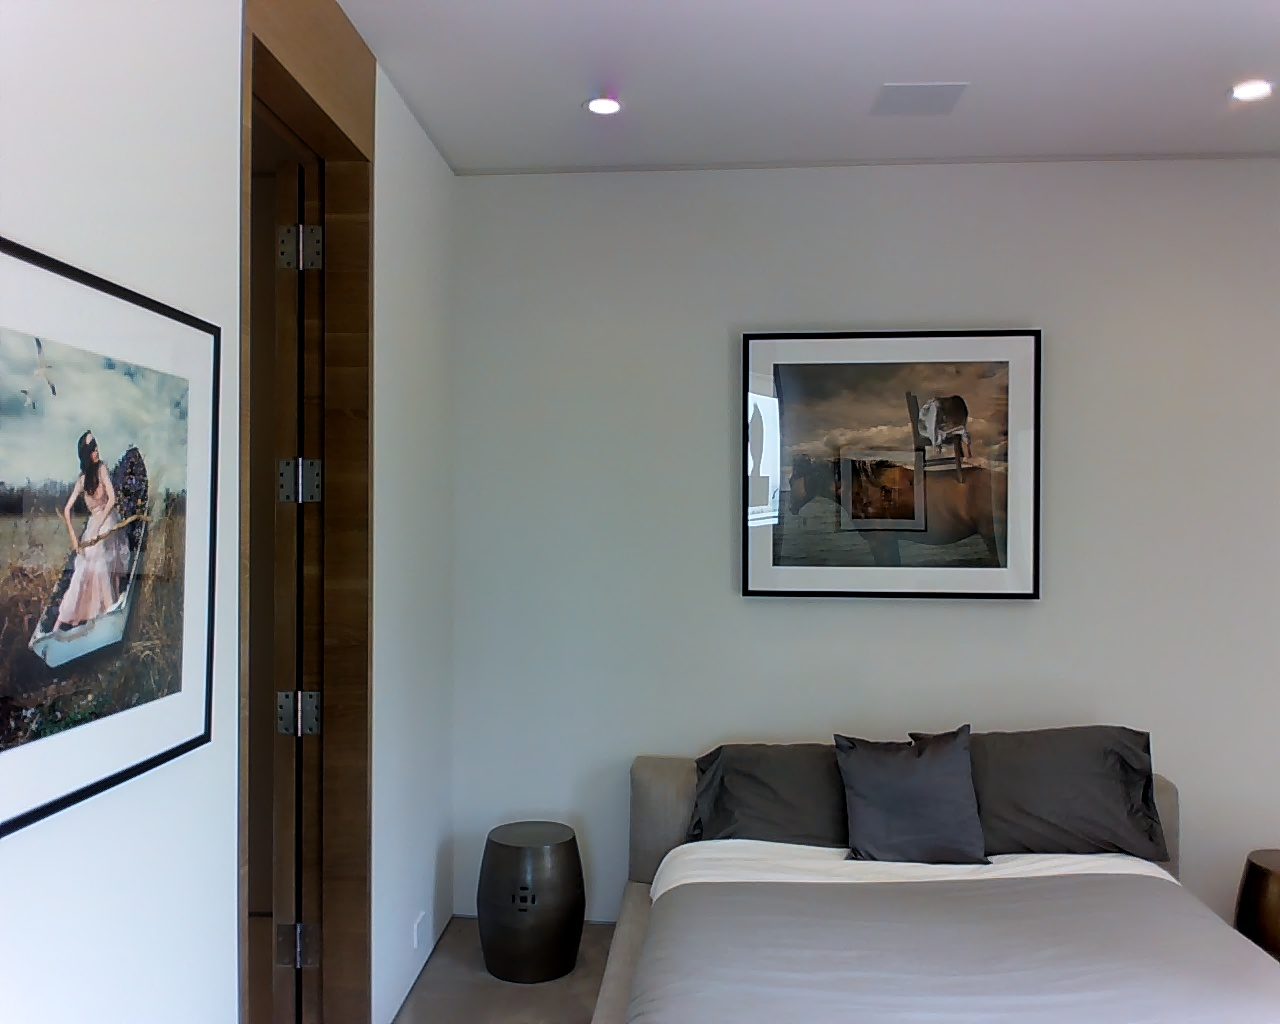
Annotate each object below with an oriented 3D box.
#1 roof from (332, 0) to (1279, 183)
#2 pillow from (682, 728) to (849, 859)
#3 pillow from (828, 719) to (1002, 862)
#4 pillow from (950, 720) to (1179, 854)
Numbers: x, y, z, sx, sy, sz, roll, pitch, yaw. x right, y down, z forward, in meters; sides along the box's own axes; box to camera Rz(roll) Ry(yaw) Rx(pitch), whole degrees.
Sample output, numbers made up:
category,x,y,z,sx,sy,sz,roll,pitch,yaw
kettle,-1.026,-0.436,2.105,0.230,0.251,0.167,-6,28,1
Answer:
category,x,y,z,sx,sy,sz,roll,pitch,yaw
roof,0.750,-1.220,1.470,3.090,0.040,4.720,0,0,4
pillow,0.410,0.930,3.560,0.520,0.380,0.230,-1,-24,7
pillow,0.850,0.870,3.380,0.450,0.410,0.280,2,-14,-4
pillow,1.340,0.870,3.440,0.620,0.390,0.230,0,-12,4
